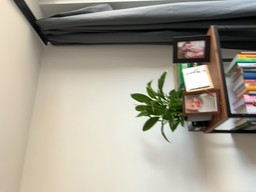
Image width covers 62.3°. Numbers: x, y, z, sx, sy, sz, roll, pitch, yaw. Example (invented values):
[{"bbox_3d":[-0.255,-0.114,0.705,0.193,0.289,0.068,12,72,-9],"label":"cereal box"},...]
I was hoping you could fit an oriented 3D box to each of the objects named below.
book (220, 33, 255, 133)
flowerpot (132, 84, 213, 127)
[{"bbox_3d":[0.790,-0.060,1.260,0.370,0.280,0.480,83,-173,-67],"label":"book"},{"bbox_3d":[0.230,0.060,1.190,0.160,0.410,0.200,82,-172,-69],"label":"flowerpot"}]
